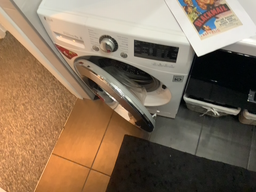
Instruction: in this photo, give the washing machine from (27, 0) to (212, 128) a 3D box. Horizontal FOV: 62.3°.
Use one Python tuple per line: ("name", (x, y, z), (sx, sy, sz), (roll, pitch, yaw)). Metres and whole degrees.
("washing machine", (0.060, -0.260, 1.160), (0.590, 0.850, 0.530), (17, 73, 14))
